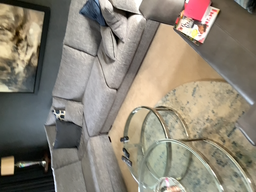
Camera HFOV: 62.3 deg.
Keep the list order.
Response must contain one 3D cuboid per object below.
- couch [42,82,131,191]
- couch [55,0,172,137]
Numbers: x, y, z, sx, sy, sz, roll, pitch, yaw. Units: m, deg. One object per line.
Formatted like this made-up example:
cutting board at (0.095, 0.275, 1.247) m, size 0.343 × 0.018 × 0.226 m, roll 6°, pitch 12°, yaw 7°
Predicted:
couch at (-0.700, 1.320, 3.320) m, size 1.170 × 0.790 × 3.270 m, roll -63°, pitch 39°, yaw 37°
couch at (-0.430, -0.560, 3.020) m, size 2.080 × 0.700 × 1.200 m, roll -63°, pitch 39°, yaw 36°
